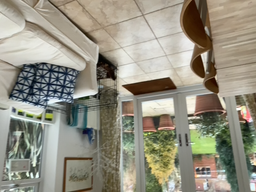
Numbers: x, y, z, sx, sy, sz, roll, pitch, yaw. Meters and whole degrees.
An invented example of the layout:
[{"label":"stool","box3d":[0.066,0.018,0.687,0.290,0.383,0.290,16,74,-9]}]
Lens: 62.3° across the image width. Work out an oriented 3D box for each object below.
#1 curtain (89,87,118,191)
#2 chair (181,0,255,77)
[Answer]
[{"label":"curtain","box3d":[-0.450,0.970,3.980,0.450,2.270,0.210,-7,163,17]},{"label":"chair","box3d":[0.640,-0.580,1.470,0.470,0.750,0.340,-8,162,22]}]
